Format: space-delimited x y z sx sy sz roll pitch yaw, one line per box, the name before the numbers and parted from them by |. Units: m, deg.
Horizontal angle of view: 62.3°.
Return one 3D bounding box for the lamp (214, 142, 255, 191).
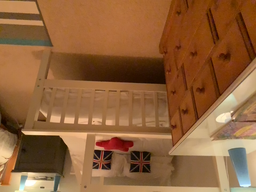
lamp | 0.620 0.450 1.130 0.200 0.370 0.150 2 152 -3
